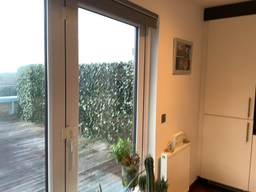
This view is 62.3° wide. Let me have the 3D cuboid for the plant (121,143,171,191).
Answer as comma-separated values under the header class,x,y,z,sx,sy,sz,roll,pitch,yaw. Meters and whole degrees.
class,x,y,z,sx,sy,sz,roll,pitch,yaw
plant,0.140,0.640,1.680,0.310,0.420,0.240,5,6,38
